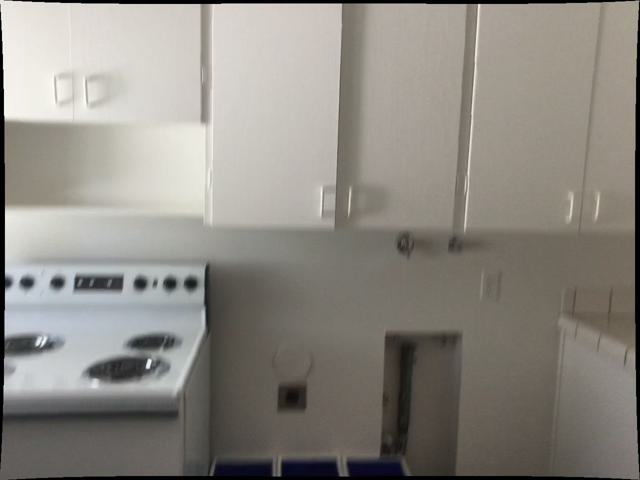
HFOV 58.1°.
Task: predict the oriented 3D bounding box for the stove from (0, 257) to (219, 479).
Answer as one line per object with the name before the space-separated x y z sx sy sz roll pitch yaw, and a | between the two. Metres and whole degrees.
stove | -0.789 0.691 1.890 0.819 1.122 0.740 2 9 -5
